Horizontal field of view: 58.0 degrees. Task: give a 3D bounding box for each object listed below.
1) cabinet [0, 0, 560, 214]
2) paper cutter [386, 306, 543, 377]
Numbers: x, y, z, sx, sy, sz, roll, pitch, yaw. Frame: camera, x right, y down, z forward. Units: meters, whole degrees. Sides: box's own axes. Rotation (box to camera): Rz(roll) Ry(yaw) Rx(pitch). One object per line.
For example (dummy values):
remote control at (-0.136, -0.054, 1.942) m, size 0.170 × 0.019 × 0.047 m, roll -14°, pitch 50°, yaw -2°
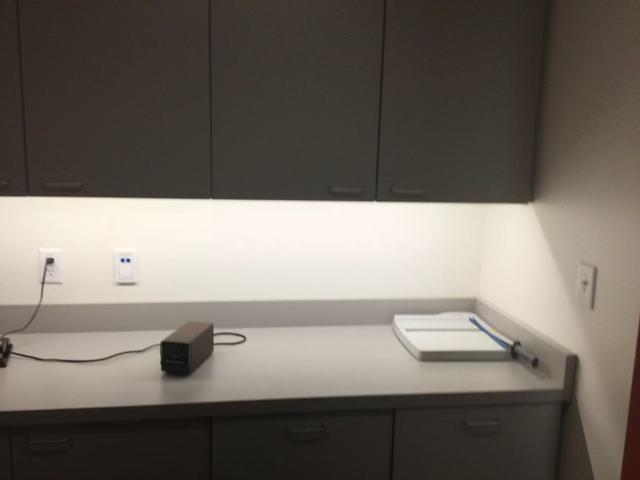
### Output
cabinet at (-0.300, -0.630, 1.640) m, size 1.990 × 1.080 × 0.210 m, roll -1°, pitch 9°, yaw -9°
paper cutter at (0.450, 0.320, 1.910) m, size 0.340 × 0.060 × 0.480 m, roll -1°, pitch 9°, yaw -9°
